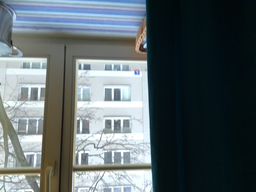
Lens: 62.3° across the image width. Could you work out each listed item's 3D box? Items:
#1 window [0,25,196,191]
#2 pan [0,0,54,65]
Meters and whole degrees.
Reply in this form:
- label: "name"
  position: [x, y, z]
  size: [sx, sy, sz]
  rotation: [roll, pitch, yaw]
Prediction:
- label: "window"
  position: [-0.310, 0.620, 0.890]
  size: [1.200, 1.840, 0.180]
  rotation: [1, 170, -9]
- label: "pan"
  position: [-0.490, -0.260, 0.760]
  size: [0.370, 0.220, 0.250]
  rotation: [1, 170, -7]
